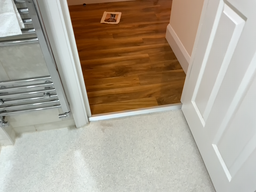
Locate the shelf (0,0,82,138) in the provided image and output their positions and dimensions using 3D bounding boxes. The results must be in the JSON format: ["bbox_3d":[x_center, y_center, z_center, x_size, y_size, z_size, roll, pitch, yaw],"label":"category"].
[{"bbox_3d":[-0.510,-0.220,0.930,0.400,1.300,0.030,-7,46,-6],"label":"shelf"}]
